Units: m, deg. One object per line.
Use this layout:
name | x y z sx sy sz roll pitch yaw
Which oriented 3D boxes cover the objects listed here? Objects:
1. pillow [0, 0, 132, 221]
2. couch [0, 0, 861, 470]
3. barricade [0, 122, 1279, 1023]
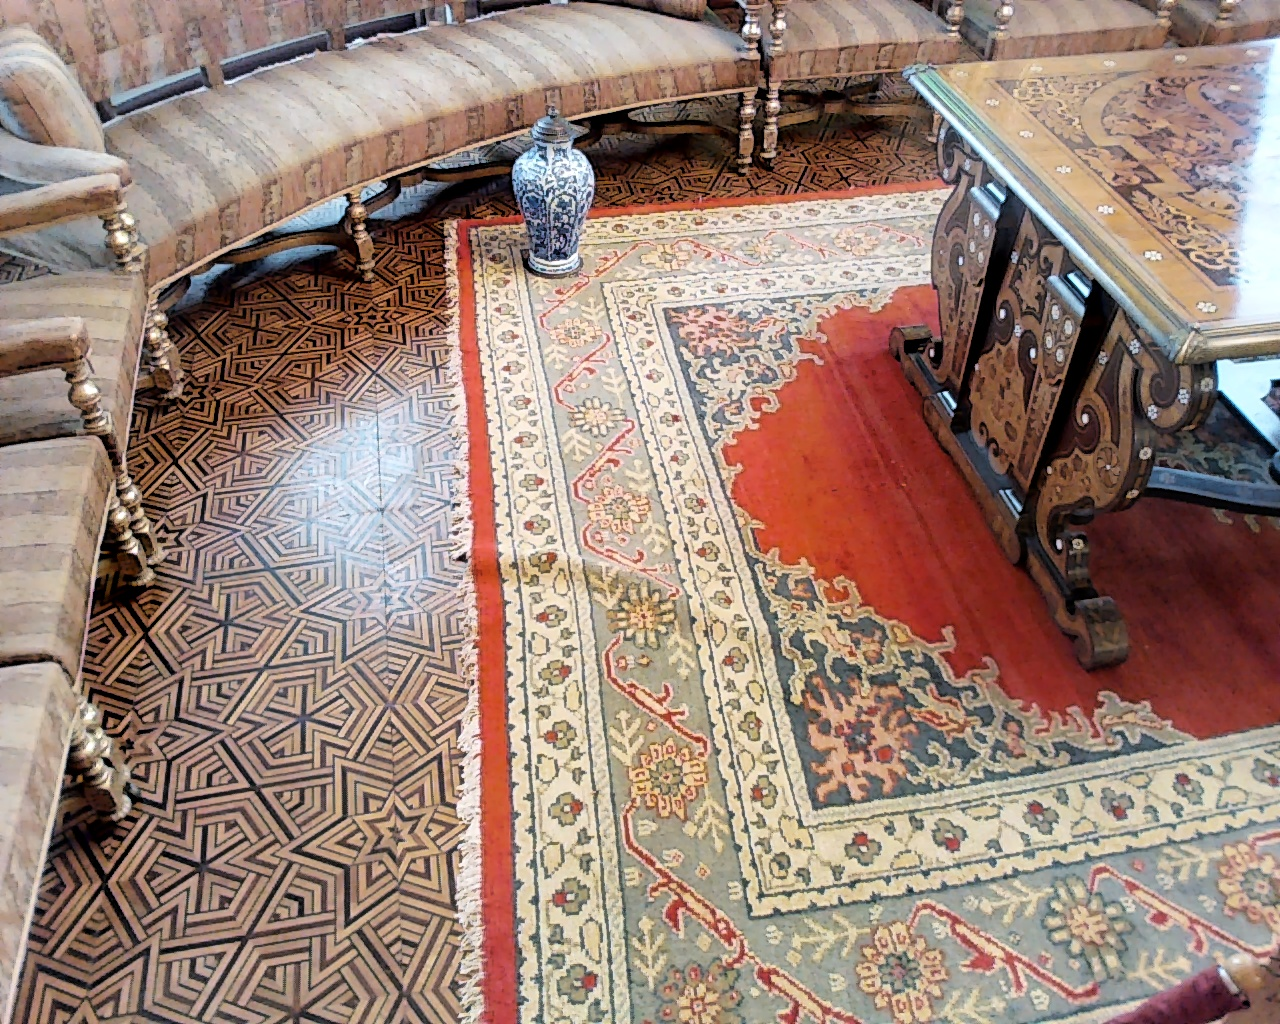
pillow | -1.550 -1.060 2.810 0.250 0.350 0.520 -18 45 -19
couch | -0.720 -1.410 3.340 2.900 1.090 1.090 -28 49 -27
barricade | 1.080 -0.130 2.710 5.469 0.130 3.350 -7 43 -6
